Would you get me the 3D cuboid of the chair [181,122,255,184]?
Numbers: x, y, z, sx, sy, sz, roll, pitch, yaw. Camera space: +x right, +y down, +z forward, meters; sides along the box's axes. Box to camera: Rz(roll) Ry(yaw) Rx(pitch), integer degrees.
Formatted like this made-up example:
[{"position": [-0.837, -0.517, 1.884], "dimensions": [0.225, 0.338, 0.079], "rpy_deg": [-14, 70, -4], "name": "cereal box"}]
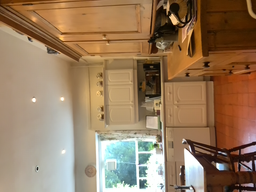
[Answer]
[{"position": [0.980, 0.530, 2.090], "dimensions": [0.450, 0.820, 0.480], "rpy_deg": [-16, -74, -86], "name": "chair"}]
